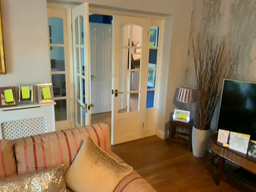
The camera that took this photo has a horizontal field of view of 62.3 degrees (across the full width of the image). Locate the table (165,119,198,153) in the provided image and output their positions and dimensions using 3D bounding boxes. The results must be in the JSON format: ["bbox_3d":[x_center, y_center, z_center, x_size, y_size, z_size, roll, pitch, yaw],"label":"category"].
[{"bbox_3d":[0.870,0.640,3.460,0.450,0.380,0.210,11,17,32],"label":"table"}]
